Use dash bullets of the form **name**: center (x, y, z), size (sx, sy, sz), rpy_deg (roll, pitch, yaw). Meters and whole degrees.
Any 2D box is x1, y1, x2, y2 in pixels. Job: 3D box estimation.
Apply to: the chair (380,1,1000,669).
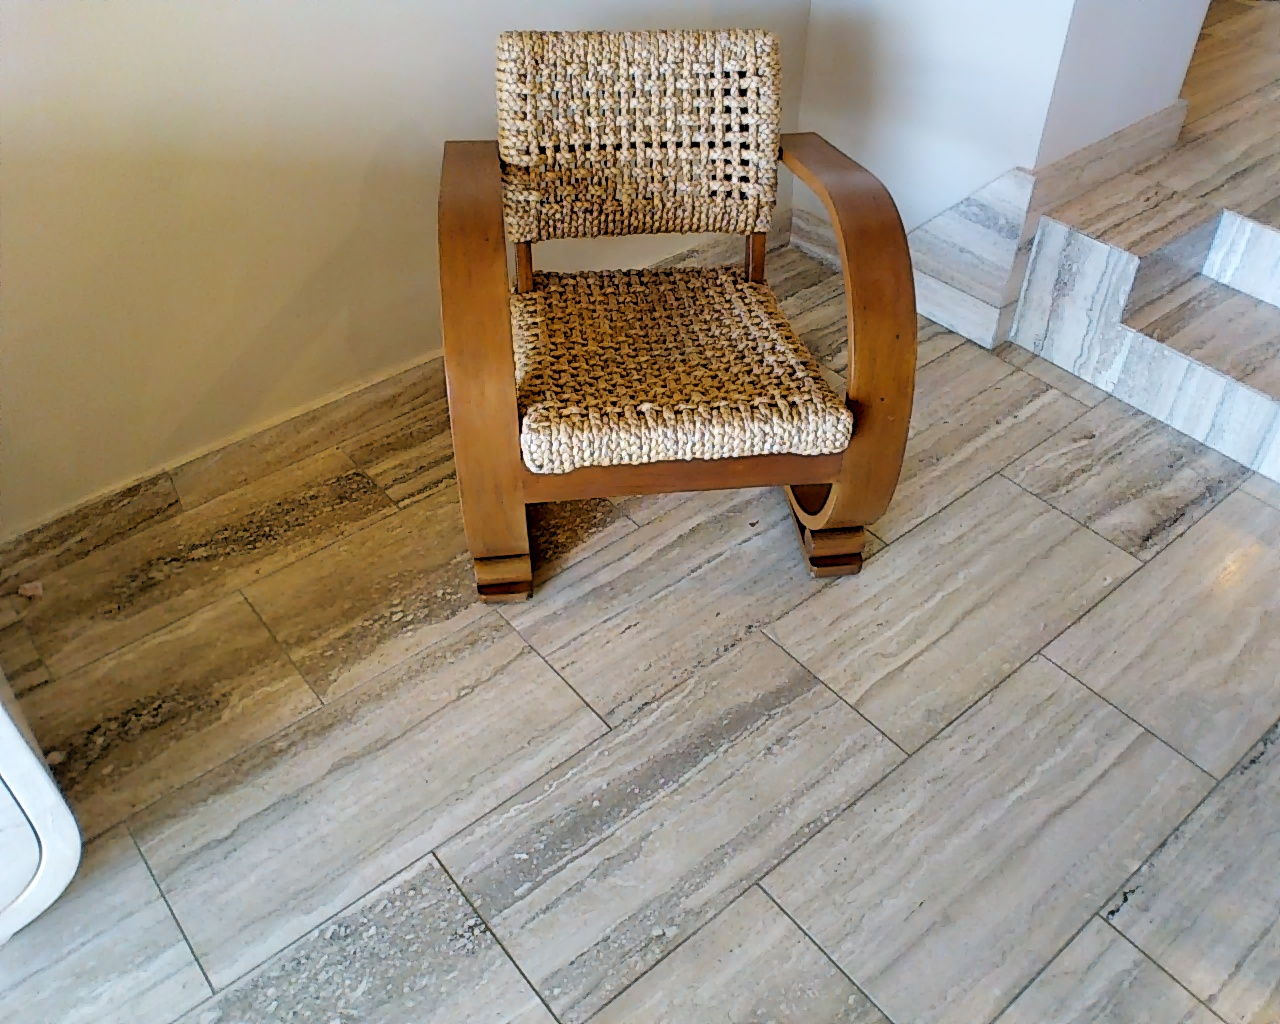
- **chair**: center (0.030, -0.300, 1.730), size (0.700, 0.740, 0.750), rpy_deg (-3, 43, -4)
